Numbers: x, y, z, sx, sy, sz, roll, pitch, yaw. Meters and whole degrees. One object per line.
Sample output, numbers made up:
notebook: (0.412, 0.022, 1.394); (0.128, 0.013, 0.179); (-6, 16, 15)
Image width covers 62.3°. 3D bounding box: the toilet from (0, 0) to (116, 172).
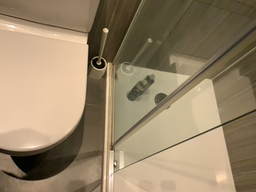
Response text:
toilet: (-0.350, -0.100, 0.810); (0.410, 0.780, 0.650); (7, 63, -17)
